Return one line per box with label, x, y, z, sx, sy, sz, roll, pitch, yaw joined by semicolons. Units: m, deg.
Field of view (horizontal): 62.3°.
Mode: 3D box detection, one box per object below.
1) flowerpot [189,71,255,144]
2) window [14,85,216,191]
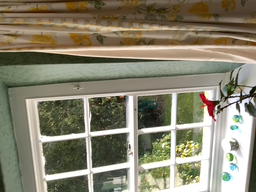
flowerpot;0.560;0.010;0.850;0.290;0.520;0.180;-141;48;-70
window;-0.020;0.350;1.450;0.160;1.240;0.750;-136;43;-68
